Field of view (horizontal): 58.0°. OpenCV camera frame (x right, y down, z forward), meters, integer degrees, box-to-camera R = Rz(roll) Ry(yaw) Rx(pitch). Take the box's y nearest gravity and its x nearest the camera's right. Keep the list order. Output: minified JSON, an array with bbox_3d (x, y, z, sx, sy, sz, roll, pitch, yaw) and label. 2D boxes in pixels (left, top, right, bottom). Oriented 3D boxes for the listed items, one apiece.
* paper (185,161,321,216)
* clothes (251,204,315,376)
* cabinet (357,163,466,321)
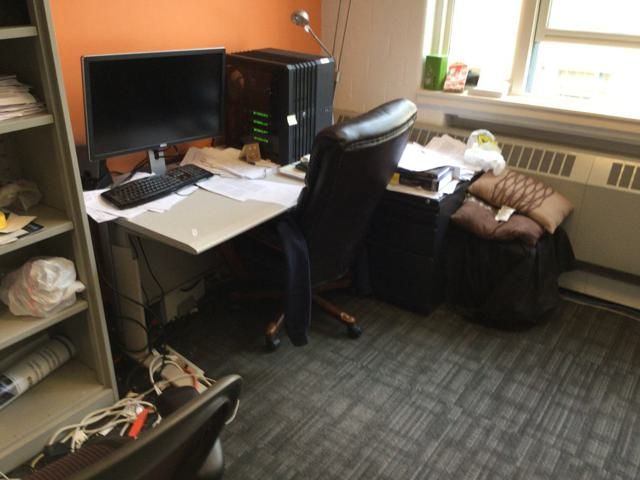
[{"bbox_3d":[-0.270,-0.220,2.340,0.420,0.050,0.350,18,29,33],"label":"paper"},{"bbox_3d":[-0.140,0.200,2.260,0.190,0.640,0.140,18,29,33],"label":"clothes"},{"bbox_3d":[0.410,0.000,2.670,0.390,0.610,0.230,18,29,33],"label":"cabinet"}]
